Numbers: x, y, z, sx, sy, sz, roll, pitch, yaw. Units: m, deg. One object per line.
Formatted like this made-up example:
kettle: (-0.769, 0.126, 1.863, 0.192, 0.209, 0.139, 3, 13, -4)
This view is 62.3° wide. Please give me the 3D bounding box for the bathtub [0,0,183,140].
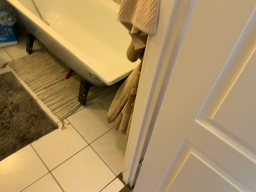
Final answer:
bathtub: (-0.460, -0.510, 1.870, 0.680, 0.550, 1.670, -31, 58, -32)
